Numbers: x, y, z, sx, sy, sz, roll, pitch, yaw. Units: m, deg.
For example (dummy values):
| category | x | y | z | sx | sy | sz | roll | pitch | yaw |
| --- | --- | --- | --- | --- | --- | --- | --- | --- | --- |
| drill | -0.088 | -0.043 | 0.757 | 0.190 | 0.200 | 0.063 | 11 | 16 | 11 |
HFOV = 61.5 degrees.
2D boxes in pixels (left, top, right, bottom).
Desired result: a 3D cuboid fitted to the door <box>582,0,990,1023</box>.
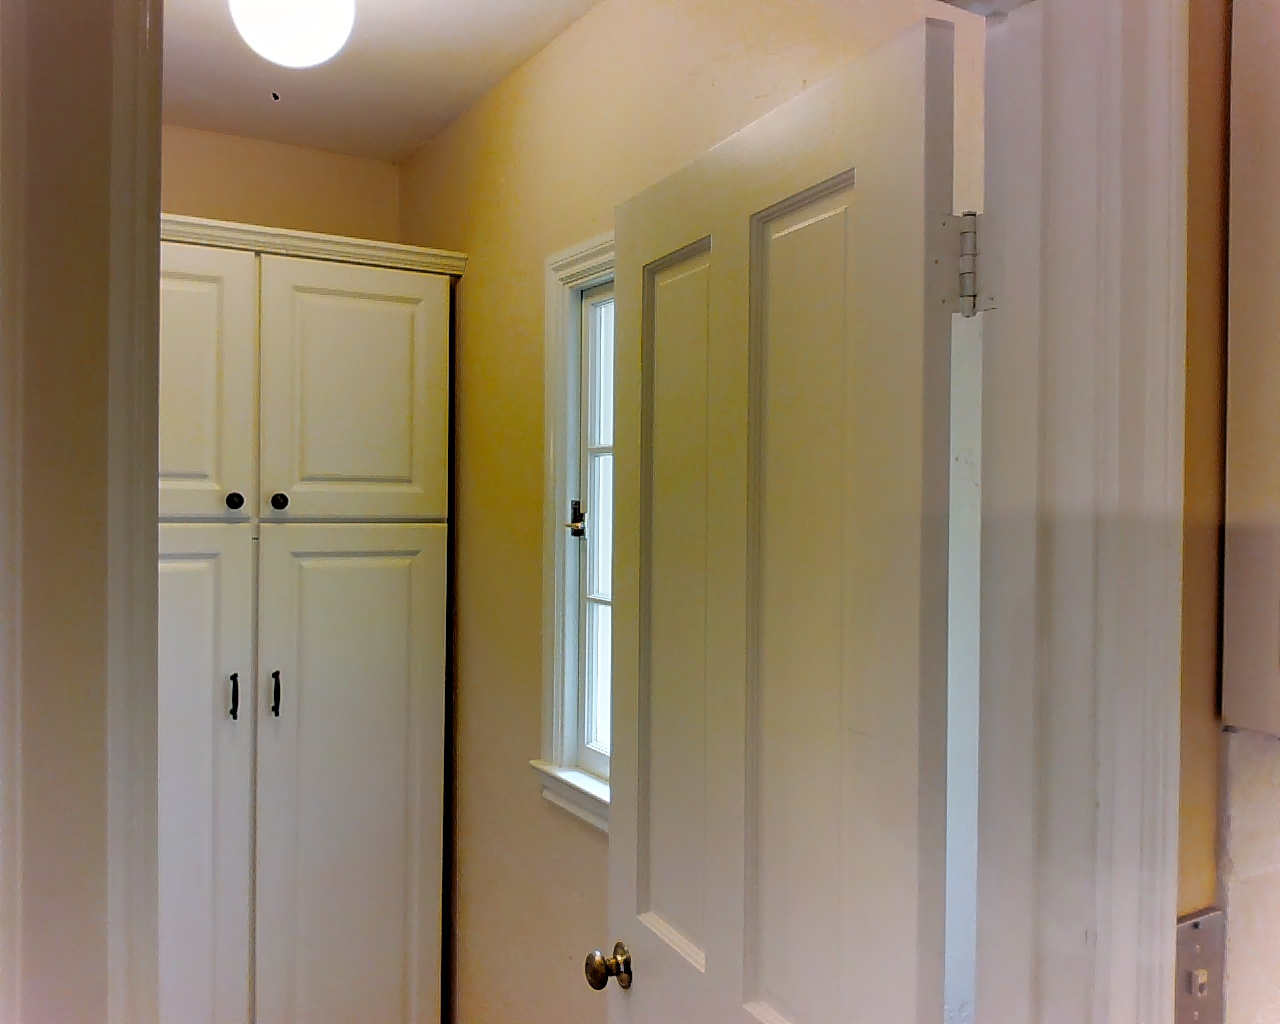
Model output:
| category | x | y | z | sx | sy | sz | roll | pitch | yaw |
| --- | --- | --- | --- | --- | --- | --- | --- | --- | --- |
| door | 0.120 | 0.520 | 1.350 | 0.110 | 2.090 | 0.740 | 0 | 1 | -25 |
